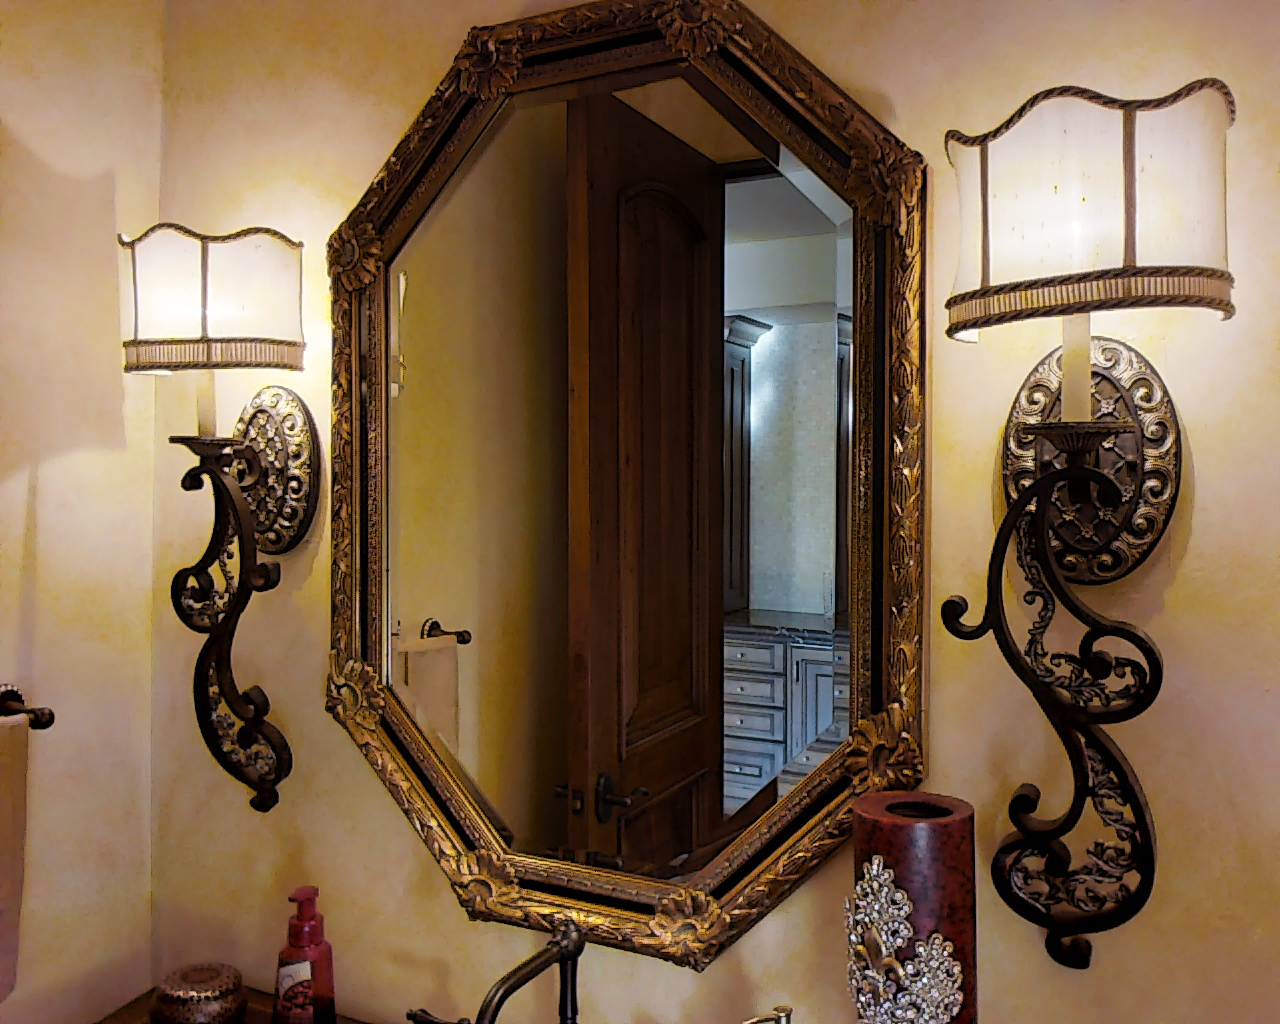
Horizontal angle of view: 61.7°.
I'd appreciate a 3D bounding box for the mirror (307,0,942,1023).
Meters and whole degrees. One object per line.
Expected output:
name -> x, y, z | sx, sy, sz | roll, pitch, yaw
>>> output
mirror -> -0.060, -0.050, 1.200 | 0.750, 1.080, 0.070 | 1, 1, 27
